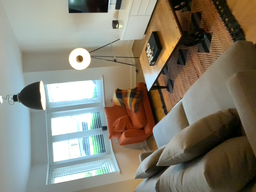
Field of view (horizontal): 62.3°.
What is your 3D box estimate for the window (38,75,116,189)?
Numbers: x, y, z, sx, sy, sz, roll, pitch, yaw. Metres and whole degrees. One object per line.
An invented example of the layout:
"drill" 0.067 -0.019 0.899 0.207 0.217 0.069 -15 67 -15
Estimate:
"window" -1.160 0.690 4.660 0.600 1.320 2.220 114 146 -62
